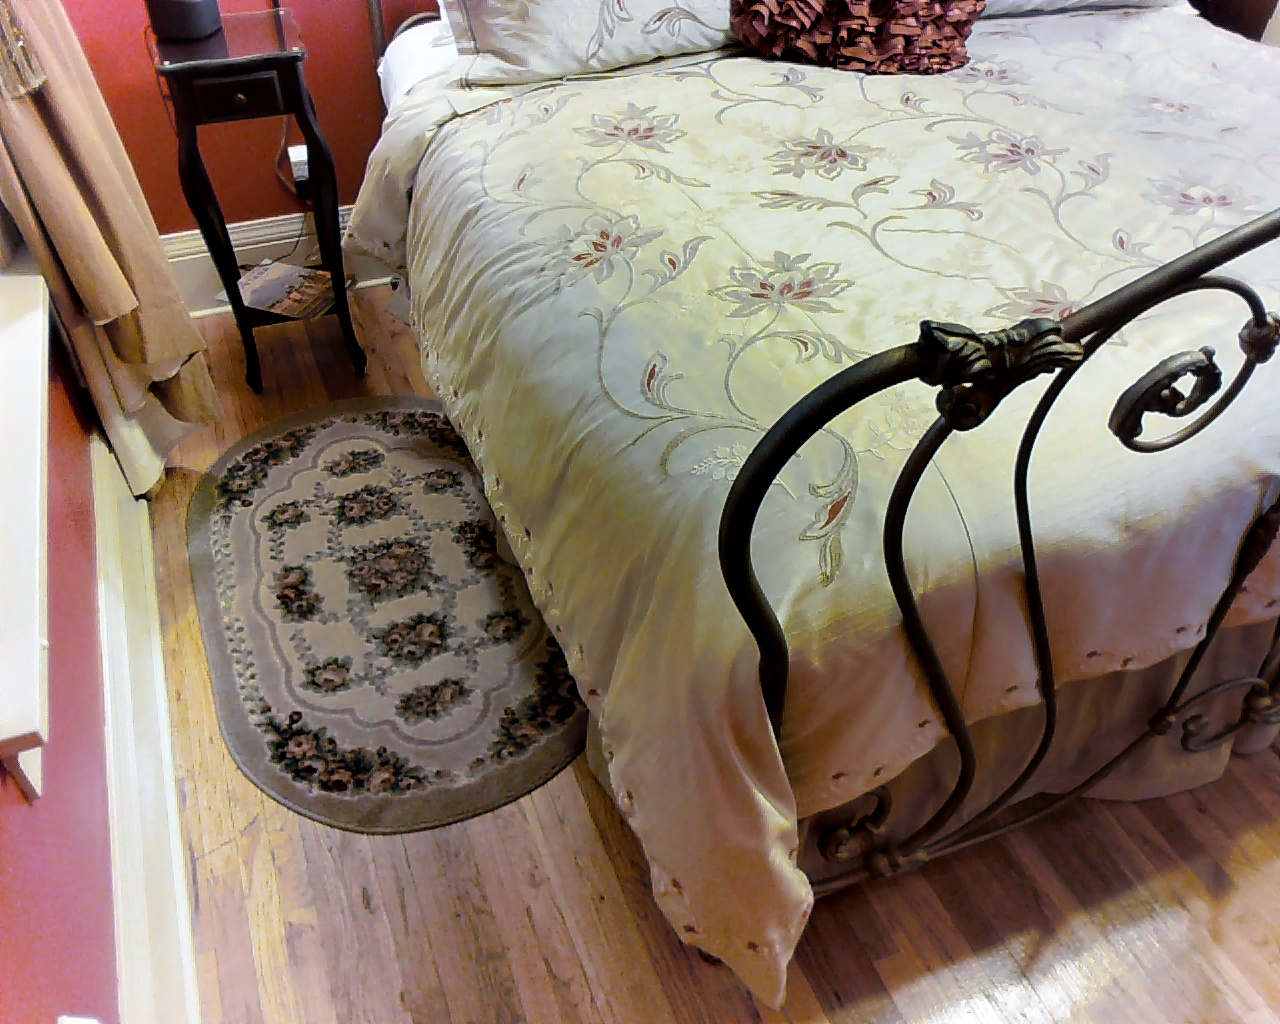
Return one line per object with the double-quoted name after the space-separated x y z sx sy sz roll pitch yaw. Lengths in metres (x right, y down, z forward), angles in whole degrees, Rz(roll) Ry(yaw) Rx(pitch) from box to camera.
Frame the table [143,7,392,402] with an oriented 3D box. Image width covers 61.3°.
-0.900 -0.750 2.650 0.390 0.740 0.510 -12 45 -14 "table"
